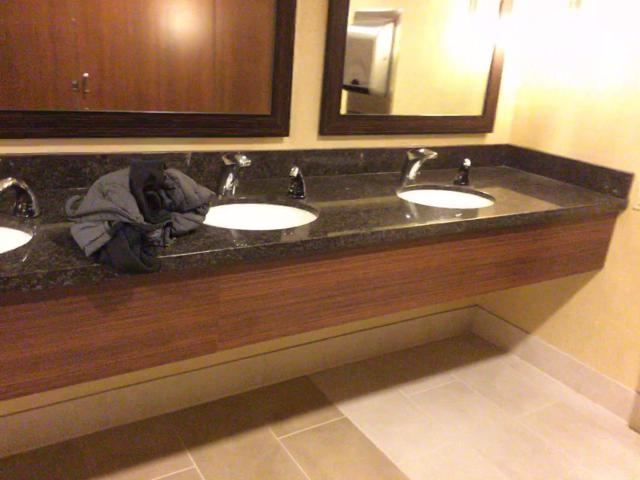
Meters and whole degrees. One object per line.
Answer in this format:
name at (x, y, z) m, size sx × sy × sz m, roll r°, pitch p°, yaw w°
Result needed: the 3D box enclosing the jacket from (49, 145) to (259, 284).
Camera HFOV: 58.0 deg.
jacket at (-0.400, -0.070, 1.350) m, size 0.380 × 0.220 × 0.340 m, roll -1°, pitch 18°, yaw -32°
